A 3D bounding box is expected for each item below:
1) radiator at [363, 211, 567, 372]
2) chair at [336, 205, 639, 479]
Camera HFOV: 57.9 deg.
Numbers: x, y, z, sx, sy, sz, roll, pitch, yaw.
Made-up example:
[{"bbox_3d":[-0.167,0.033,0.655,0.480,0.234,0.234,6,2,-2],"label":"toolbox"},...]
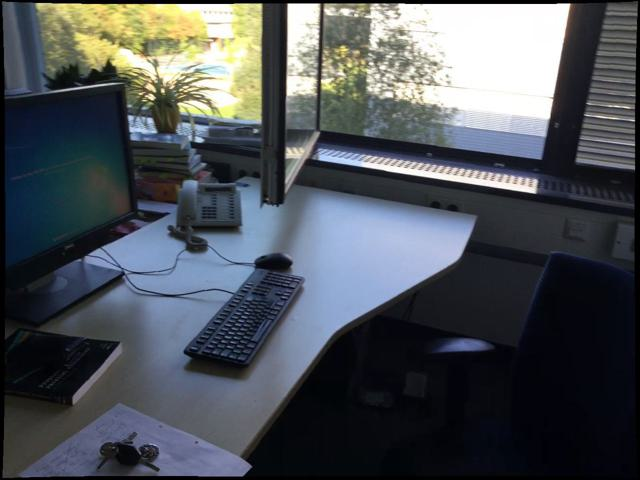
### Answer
[{"bbox_3d":[0.619,0.210,2.560,0.779,0.500,0.280,10,26,16],"label":"radiator"},{"bbox_3d":[0.490,0.501,1.400,0.649,0.921,0.710,-7,26,-20],"label":"chair"}]
